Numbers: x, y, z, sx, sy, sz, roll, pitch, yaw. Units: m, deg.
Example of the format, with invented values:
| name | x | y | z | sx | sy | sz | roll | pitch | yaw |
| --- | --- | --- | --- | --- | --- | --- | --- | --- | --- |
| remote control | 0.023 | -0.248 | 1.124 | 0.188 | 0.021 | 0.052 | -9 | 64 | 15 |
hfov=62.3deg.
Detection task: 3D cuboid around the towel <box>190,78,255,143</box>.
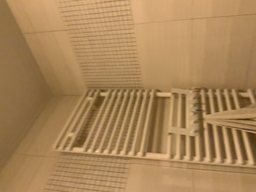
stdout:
| name | x | y | z | sx | sy | sz | roll | pitch | yaw |
| --- | --- | --- | --- | --- | --- | --- | --- | --- | --- |
| towel | 0.640 | 0.060 | 1.060 | 0.340 | 0.620 | 0.130 | -72 | -22 | -49 |
